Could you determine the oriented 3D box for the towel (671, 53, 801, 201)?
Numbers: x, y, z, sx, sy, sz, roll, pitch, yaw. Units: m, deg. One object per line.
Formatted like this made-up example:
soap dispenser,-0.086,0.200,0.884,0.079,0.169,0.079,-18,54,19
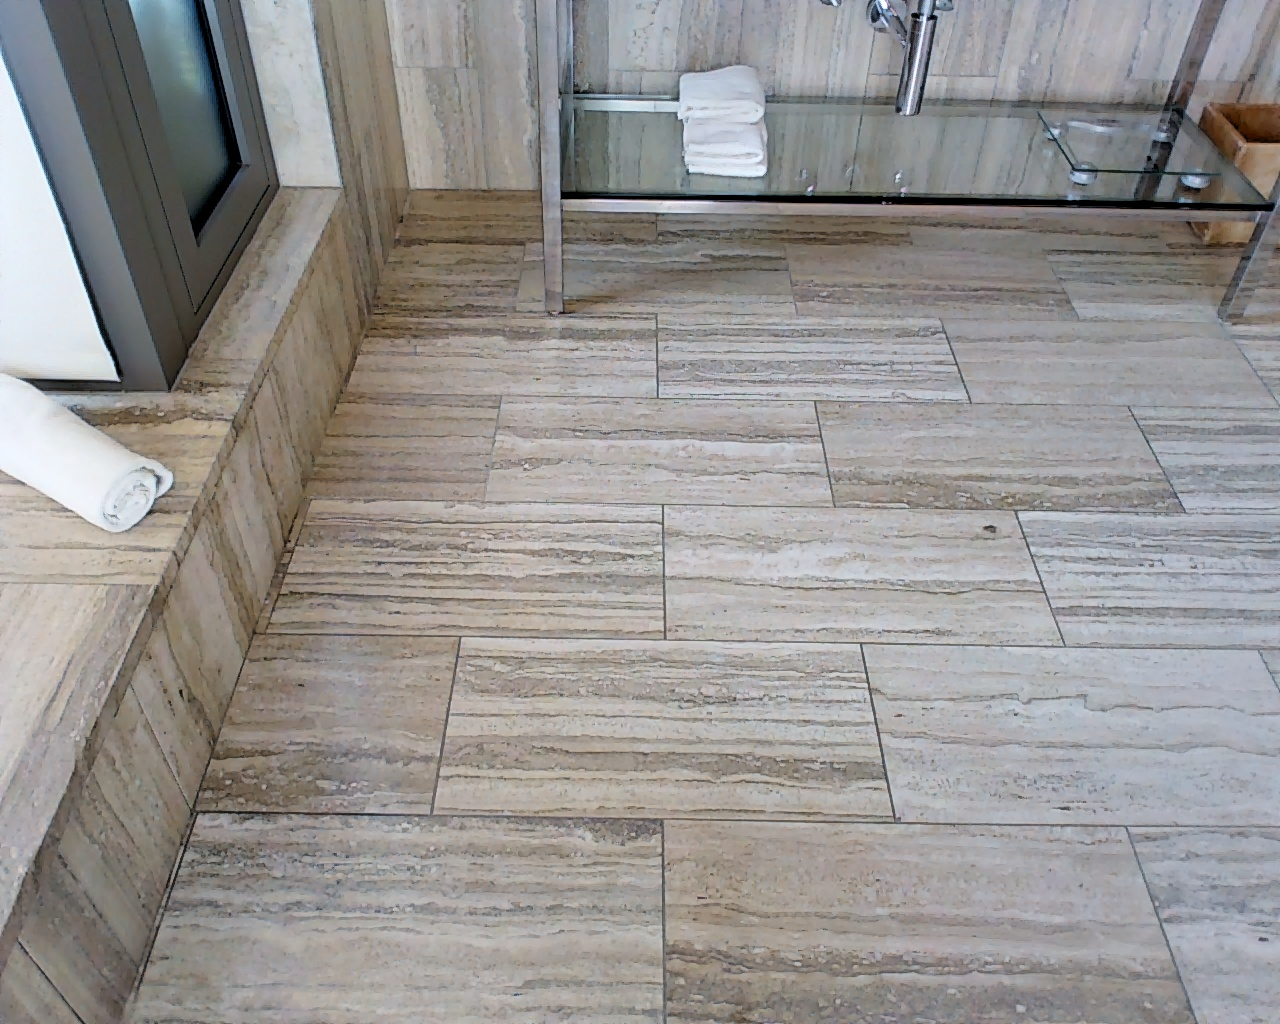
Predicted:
towel,0.200,-0.860,2.380,0.250,0.150,0.430,1,42,0
